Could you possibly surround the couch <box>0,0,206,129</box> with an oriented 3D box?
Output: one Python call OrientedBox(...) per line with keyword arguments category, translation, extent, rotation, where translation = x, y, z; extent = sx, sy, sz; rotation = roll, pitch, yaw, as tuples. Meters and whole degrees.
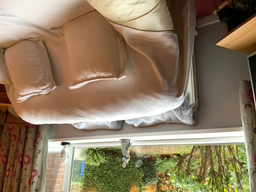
OrientedBox(category="couch", translation=(-0.450, -0.360, 1.390), extent=(1.540, 0.910, 0.950), rotation=(-11, 159, 33))
